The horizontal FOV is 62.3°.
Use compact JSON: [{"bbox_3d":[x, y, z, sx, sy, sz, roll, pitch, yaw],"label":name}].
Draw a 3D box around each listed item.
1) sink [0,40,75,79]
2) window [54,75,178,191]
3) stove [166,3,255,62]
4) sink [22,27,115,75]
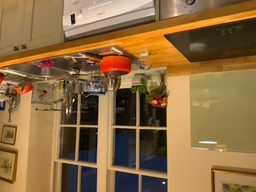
[{"bbox_3d":[-0.840,-0.300,1.930,0.450,0.170,0.520,-3,173,29],"label":"sink"},{"bbox_3d":[-0.200,0.680,2.230,1.420,1.690,0.120,-3,173,28],"label":"window"},{"bbox_3d":[0.580,-0.310,1.110,0.610,0.060,0.540,-3,173,29],"label":"stove"},{"bbox_3d":[-0.450,-0.320,1.700,0.460,0.170,0.540,-3,173,29],"label":"sink"}]
